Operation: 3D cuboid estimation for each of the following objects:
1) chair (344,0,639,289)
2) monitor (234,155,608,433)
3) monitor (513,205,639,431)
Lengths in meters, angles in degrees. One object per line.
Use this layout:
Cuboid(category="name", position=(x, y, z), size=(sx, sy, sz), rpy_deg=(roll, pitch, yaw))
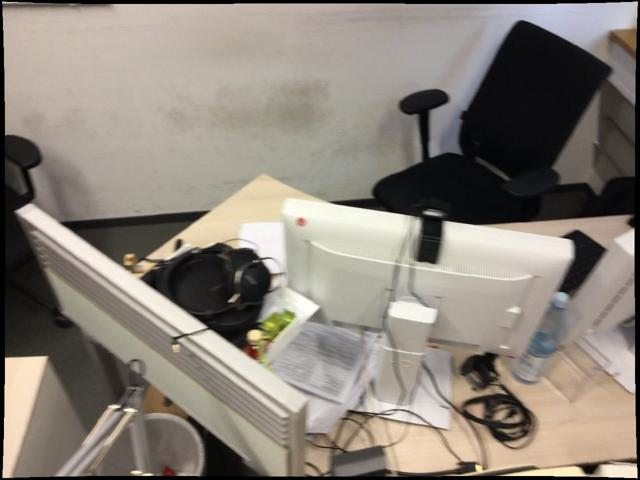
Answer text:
Cuboid(category="chair", position=(0.629, -0.400, 2.240), size=(0.809, 0.670, 0.670), rpy_deg=(-20, 50, -20))
Cuboid(category="monitor", position=(0.180, 0.140, 1.290), size=(0.669, 0.540, 0.190), rpy_deg=(11, 47, 9))
Cuboid(category="monitor", position=(0.829, 0.120, 1.380), size=(0.610, 0.470, 0.220), rpy_deg=(-21, 51, -20))
